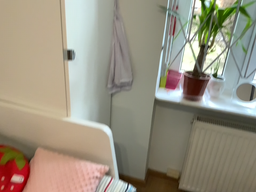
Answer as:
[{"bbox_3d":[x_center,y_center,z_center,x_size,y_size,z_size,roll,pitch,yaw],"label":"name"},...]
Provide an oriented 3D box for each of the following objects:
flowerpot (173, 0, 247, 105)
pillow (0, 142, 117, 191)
[{"bbox_3d":[0.490,-0.300,1.360,0.280,0.600,0.300,11,25,14],"label":"flowerpot"},{"bbox_3d":[-0.260,0.410,0.820,0.320,0.210,0.380,10,25,13],"label":"pillow"}]
